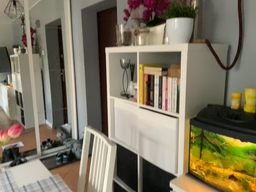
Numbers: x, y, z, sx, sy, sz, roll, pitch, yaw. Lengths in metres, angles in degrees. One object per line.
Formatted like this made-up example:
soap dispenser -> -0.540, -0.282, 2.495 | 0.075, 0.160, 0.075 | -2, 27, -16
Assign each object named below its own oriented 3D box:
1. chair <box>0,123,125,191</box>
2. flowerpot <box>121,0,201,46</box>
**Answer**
chair -> -0.350, 0.710, 1.100 | 0.530, 0.980, 0.420 | -7, 13, -33
flowerpot -> 0.220, -0.670, 1.560 | 0.270, 0.560, 0.540 | -9, 14, -39
